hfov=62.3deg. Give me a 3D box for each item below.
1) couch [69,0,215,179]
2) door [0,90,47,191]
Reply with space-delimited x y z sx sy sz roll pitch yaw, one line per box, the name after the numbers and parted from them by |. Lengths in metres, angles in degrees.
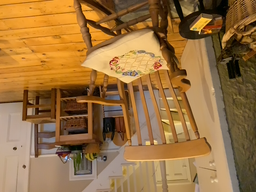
0.100 -0.130 1.360 0.580 1.150 0.710 -12 163 28 | couch
-1.940 1.040 3.500 1.110 2.260 0.100 -4 165 3 | door
